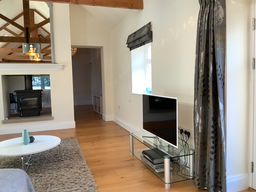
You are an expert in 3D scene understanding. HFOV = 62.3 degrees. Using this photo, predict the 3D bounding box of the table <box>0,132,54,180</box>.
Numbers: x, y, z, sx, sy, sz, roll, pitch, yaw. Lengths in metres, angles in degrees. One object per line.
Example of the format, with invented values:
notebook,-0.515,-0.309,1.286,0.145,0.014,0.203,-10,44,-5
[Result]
table,-1.480,0.790,2.910,0.840,0.300,0.870,-3,5,-21

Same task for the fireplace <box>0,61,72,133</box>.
fireplace,-2.590,-0.030,5.390,2.130,1.620,1.070,-2,5,-19
